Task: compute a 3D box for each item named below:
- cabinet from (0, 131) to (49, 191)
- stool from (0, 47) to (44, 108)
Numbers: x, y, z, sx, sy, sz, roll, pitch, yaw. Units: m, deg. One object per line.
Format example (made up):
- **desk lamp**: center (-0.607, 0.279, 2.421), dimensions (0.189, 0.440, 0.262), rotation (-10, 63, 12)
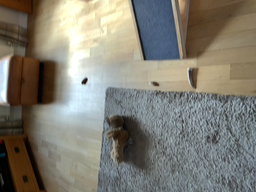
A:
- **cabinet**: center (-1.510, 0.980, 2.690), dimensions (1.030, 0.590, 0.370), rotation (50, 120, 32)
- **stool**: center (-1.500, -0.210, 2.830), dimensions (0.640, 0.450, 0.710), rotation (2, 89, 43)
